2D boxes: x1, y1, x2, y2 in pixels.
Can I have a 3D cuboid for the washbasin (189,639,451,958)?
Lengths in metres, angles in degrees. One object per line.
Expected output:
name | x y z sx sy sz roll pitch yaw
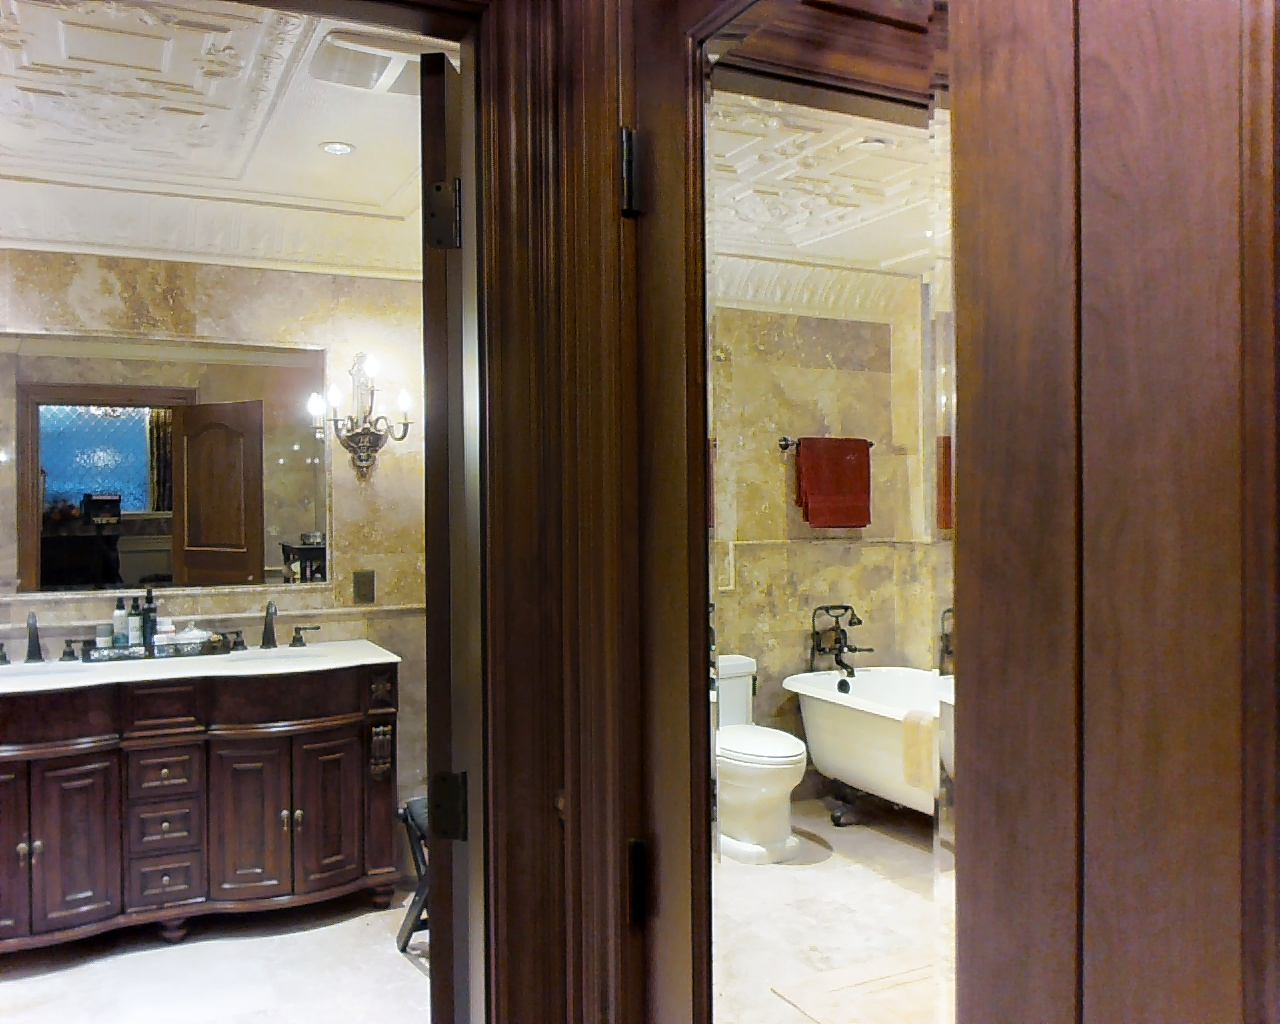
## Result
washbasin | -1.140 0.950 3.800 0.810 0.900 0.550 0 0 -26
